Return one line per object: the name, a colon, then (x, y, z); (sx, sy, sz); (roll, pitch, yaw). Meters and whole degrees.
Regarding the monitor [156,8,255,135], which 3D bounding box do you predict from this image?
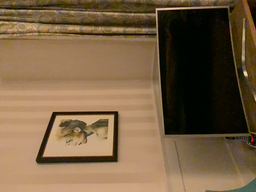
monitor: (0.580, -0.230, 1.690); (0.060, 0.650, 1.050); (93, 176, -74)
